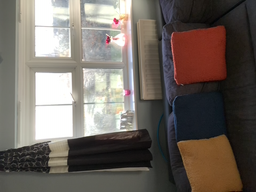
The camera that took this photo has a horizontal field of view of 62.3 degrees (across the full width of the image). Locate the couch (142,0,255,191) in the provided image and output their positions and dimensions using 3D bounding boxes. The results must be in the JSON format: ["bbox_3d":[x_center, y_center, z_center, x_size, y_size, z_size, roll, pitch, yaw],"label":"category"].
[{"bbox_3d":[0.710,-0.410,1.720,1.060,0.810,2.740,154,113,-74],"label":"couch"}]

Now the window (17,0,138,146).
[{"bbox_3d":[-0.520,-0.360,2.290,0.120,1.190,1.660,164,103,-75],"label":"window"}]

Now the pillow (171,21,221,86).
[{"bbox_3d":[0.550,-0.320,1.710,0.140,0.400,0.450,-7,84,59],"label":"pillow"}]
